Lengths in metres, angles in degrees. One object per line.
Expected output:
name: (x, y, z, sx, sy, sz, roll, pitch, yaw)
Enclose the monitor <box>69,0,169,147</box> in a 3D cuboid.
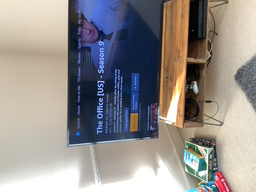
monitor: (-0.040, -0.260, 1.540, 0.060, 0.740, 1.190, -172, 83, -65)
